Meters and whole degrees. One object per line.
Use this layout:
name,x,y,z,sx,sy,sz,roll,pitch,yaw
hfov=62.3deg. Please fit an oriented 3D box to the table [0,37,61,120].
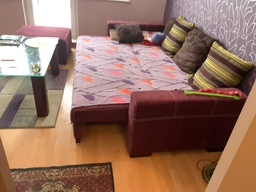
table,-1.200,-0.250,2.410,0.700,0.480,1.060,0,32,-10

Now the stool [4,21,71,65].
stool,-1.370,-0.860,3.390,0.800,0.430,0.740,1,32,-8

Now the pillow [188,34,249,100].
pillow,0.850,-0.280,2.080,0.220,0.410,0.500,0,51,-13

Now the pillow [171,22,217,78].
pillow,0.760,-0.550,2.550,0.220,0.470,0.480,0,45,-13

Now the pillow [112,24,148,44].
pillow,0.010,-0.980,3.330,0.470,0.180,0.440,-2,32,-13

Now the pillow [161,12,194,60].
pillow,0.660,-0.820,2.920,0.170,0.440,0.460,-1,50,-14
